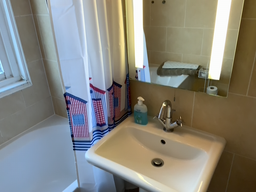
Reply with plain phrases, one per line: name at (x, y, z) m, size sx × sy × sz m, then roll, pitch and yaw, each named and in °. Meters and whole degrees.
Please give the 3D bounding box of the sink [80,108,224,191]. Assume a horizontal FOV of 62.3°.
sink at (0.130, 0.300, 1.060) m, size 0.540 × 0.180 × 0.460 m, roll 14°, pitch 31°, yaw 31°
